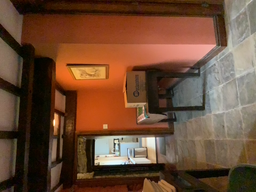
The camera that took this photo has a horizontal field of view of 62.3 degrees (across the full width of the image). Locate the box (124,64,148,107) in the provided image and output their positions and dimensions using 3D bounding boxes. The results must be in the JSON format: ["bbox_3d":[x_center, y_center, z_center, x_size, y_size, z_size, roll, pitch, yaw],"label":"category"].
[{"bbox_3d":[0.100,-0.140,3.150,0.450,0.280,0.550,116,153,-77],"label":"box"}]
